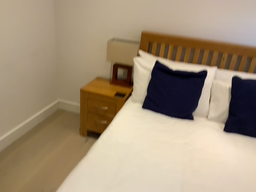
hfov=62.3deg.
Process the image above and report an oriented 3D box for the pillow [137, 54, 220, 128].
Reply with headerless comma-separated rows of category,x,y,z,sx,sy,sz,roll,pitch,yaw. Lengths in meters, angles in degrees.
pillow,0.380,-0.030,1.660,0.480,0.390,0.110,31,33,-2
